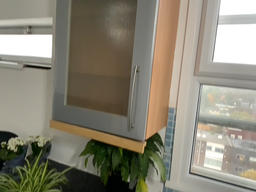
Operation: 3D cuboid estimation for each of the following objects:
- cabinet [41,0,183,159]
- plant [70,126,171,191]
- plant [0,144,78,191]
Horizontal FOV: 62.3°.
[{"bbox_3d":[-0.080,-0.210,1.020,0.560,0.820,0.300,8,8,25],"label":"cabinet"},{"bbox_3d":[-0.040,0.370,1.070,0.420,0.320,0.240,9,8,26],"label":"plant"},{"bbox_3d":[-0.420,0.390,0.850,0.310,0.260,0.280,8,8,24],"label":"plant"}]
